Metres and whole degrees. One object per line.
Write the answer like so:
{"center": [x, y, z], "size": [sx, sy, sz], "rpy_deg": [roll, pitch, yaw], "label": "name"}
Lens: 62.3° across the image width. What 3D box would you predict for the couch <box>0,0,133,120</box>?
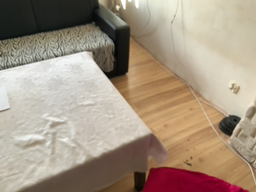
{"center": [-0.850, -0.610, 2.150], "size": [1.470, 0.990, 0.960], "rpy_deg": [-18, 44, -23], "label": "couch"}
